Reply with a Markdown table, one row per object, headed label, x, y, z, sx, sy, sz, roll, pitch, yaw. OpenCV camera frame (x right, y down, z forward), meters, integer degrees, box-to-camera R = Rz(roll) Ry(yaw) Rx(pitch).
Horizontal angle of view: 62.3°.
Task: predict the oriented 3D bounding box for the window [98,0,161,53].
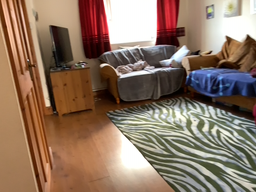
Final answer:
| label | x | y | z | sx | sy | sz | roll | pitch | yaw |
| --- | --- | --- | --- | --- | --- | --- | --- | --- | --- |
| window | 0.050 | -1.750 | 4.790 | 1.360 | 1.390 | 0.180 | -9 | 15 | -15 |

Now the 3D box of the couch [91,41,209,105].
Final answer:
| label | x | y | z | sx | sy | sz | roll | pitch | yaw |
| --- | --- | --- | --- | --- | --- | --- | --- | --- | --- |
| couch | 0.440 | -0.560 | 4.360 | 2.160 | 0.930 | 0.930 | -10 | 16 | -18 |

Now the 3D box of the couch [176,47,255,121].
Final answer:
| label | x | y | z | sx | sy | sz | roll | pitch | yaw |
| --- | --- | --- | --- | --- | --- | --- | --- | --- | --- |
| couch | 1.770 | -0.320 | 3.330 | 1.020 | 0.790 | 2.060 | -10 | 16 | -18 |

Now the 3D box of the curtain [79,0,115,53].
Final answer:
| label | x | y | z | sx | sy | sz | roll | pitch | yaw |
| --- | --- | --- | --- | --- | --- | --- | --- | --- | --- |
| curtain | -0.650 | -1.590 | 4.370 | 0.560 | 1.330 | 0.350 | -9 | 15 | -15 |
